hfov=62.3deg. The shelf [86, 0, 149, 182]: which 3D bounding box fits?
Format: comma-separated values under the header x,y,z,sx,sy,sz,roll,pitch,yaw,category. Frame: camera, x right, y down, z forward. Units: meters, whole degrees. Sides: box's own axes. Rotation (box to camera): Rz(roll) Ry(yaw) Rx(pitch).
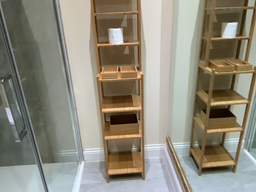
x,y,z,sx,sy,sz,roll,pitch,yaw,category
-0.050,-0.030,1.680,0.380,1.580,0.290,-3,24,-2,shelf
